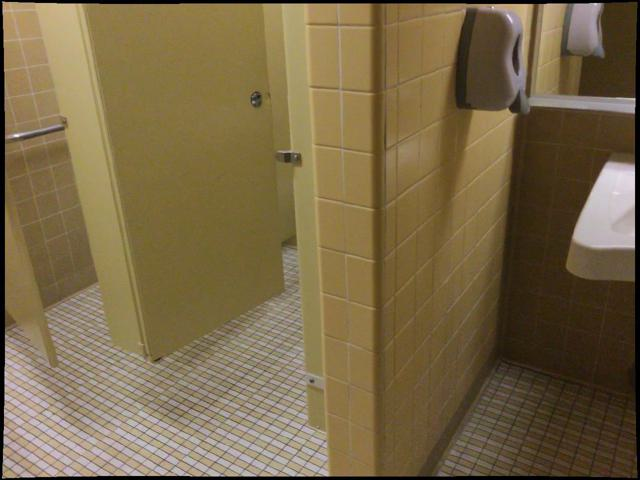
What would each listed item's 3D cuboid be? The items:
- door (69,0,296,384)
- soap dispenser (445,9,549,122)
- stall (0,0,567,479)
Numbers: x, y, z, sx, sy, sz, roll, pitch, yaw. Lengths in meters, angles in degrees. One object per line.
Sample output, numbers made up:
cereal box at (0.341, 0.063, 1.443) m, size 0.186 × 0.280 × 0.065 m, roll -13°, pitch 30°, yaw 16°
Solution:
door at (-0.359, -0.331, 1.770) m, size 0.100 × 1.473 × 0.640 m, roll 18°, pitch 32°, yaw 35°
soap dispenser at (0.409, -0.411, 1.340) m, size 0.170 × 0.220 × 0.170 m, roll 14°, pitch 30°, yaw 29°
stall at (-0.020, -0.261, 2.060) m, size 1.268 × 1.653 × 1.529 m, roll 14°, pitch 30°, yaw 29°
